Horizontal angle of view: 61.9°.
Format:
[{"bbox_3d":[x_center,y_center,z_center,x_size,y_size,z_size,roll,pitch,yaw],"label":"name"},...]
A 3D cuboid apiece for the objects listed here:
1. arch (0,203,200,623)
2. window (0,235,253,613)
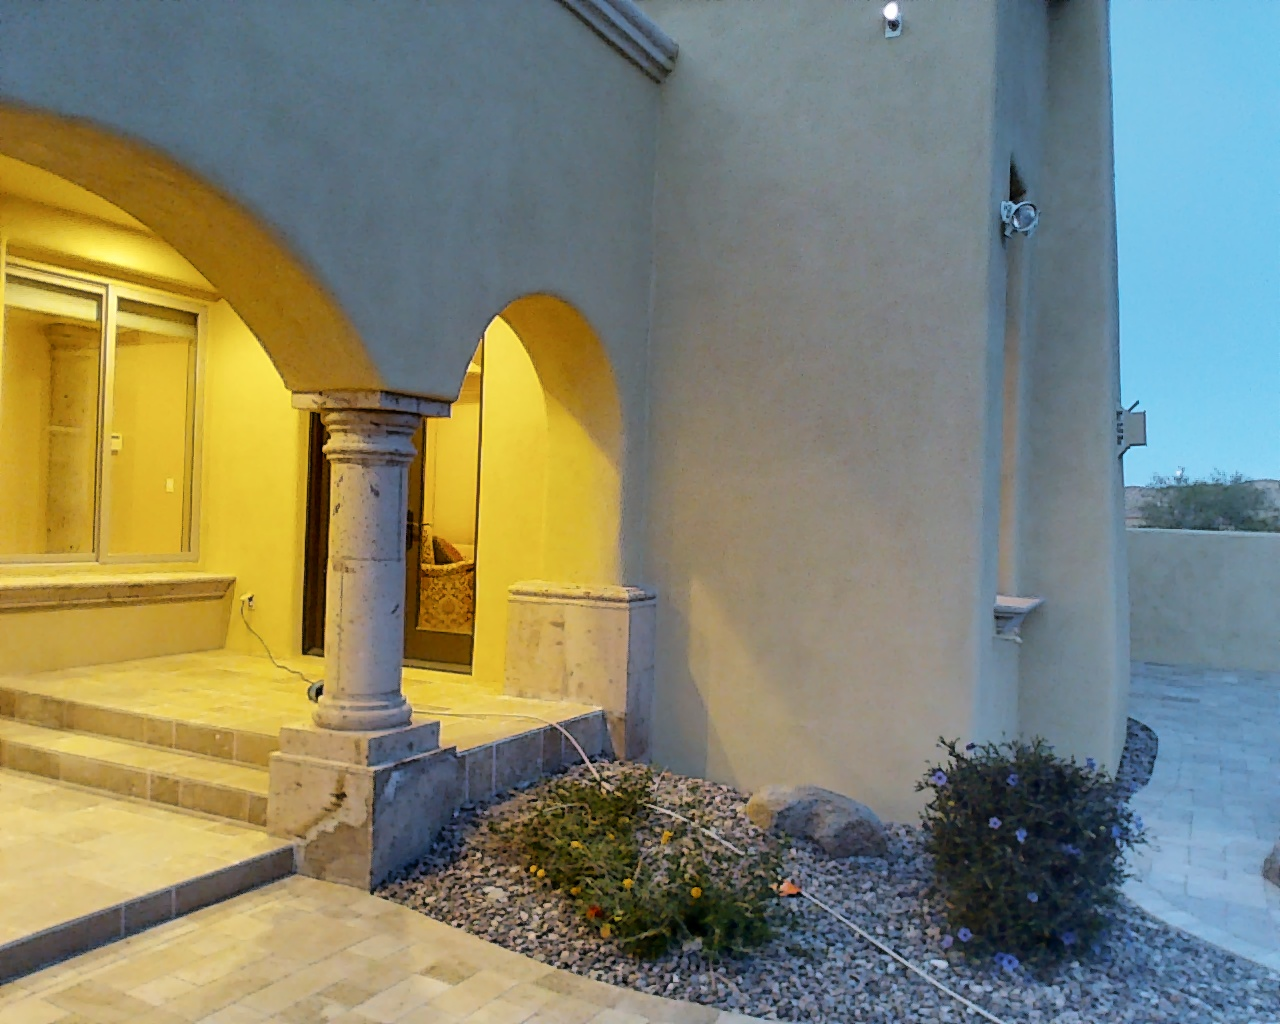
[{"bbox_3d":[-3.320,-0.550,6.500,0.440,2.330,1.090,2,0,27],"label":"arch"},{"bbox_3d":[-3.390,-0.490,6.860,0.640,2.120,1.640,2,0,27],"label":"window"}]
